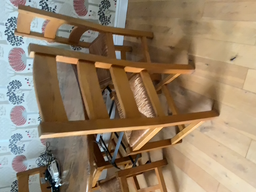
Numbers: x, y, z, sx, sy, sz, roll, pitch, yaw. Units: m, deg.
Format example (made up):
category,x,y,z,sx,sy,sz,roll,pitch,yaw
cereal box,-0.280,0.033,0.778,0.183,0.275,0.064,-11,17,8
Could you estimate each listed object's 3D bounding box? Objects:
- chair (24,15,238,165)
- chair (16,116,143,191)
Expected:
category,x,y,z,sx,sy,sz,roll,pitch,yaw
chair,0.000,-0.010,1.220,0.540,1.010,0.480,-46,55,50
chair,-0.470,0.580,2.020,0.460,1.020,0.510,59,139,37
